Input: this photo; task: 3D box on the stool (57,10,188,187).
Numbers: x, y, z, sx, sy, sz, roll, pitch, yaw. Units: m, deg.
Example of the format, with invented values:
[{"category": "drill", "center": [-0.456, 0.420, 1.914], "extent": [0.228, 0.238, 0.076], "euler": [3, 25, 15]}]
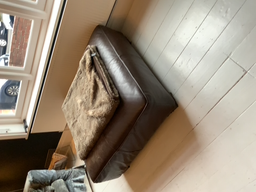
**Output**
[{"category": "stool", "center": [-0.200, 0.020, 1.910], "extent": [1.070, 0.380, 1.050], "euler": [59, 133, 34]}]
